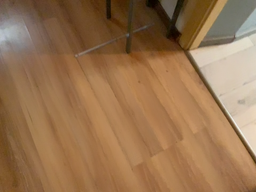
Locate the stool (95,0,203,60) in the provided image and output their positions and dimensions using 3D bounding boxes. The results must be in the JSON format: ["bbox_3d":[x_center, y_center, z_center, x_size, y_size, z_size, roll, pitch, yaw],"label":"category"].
[{"bbox_3d":[0.080,-0.590,1.290,0.400,0.330,0.540,-23,71,-14],"label":"stool"}]
